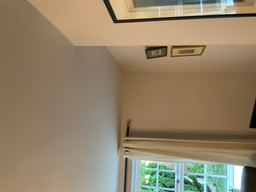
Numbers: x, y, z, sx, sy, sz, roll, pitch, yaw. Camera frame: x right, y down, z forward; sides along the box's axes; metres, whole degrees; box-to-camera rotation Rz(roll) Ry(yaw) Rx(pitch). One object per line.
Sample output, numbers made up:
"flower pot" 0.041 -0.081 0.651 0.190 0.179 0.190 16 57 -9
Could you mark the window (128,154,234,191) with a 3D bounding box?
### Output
"window" 0.760 1.320 3.170 0.080 1.510 0.770 40 -128 -78
